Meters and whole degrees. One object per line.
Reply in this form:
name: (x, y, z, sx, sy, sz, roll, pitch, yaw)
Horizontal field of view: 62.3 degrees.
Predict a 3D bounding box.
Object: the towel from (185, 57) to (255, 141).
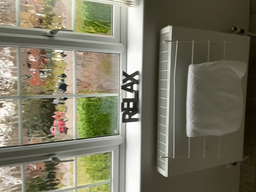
towel: (0.500, 0.010, 1.120, 0.110, 0.400, 0.390, -172, 81, -65)
